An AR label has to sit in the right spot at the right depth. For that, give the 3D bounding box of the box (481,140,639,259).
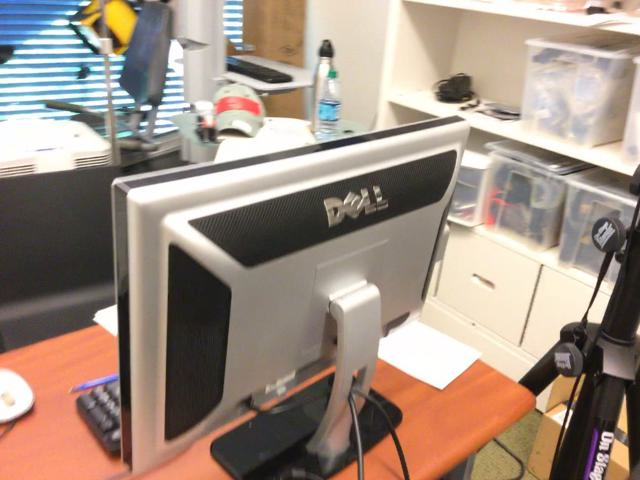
[{"bbox_3d":[0.780,-0.150,1.880,0.340,0.260,0.320,-13,28,-36],"label":"box"}]

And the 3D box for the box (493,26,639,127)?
[{"bbox_3d":[0.800,-0.510,1.770,0.370,0.240,0.330,-13,28,-36],"label":"box"}]

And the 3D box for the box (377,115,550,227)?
[{"bbox_3d":[0.520,-0.280,2.150,0.400,0.270,0.440,-13,28,-36],"label":"box"}]

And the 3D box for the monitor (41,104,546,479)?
[{"bbox_3d":[0.000,0.070,0.700,0.540,0.410,0.180,-13,28,-36],"label":"monitor"}]
